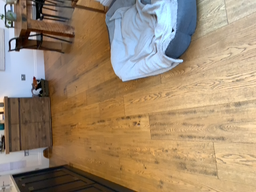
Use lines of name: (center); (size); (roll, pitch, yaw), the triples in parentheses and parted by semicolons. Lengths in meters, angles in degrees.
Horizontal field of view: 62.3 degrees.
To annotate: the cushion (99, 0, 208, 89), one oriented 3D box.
cushion: (0.100, -0.550, 1.720); (0.990, 0.200, 0.800); (-18, 76, 56)
